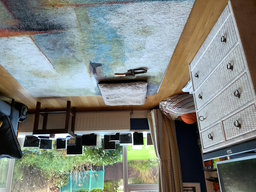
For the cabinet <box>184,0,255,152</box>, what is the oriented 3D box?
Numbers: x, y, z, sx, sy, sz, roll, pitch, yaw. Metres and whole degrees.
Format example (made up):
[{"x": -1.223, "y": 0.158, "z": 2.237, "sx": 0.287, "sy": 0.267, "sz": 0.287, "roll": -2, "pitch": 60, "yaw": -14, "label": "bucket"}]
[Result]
[{"x": 0.850, "y": -0.090, "z": 1.550, "sx": 0.520, "sy": 0.870, "sz": 0.910, "roll": -1, "pitch": 159, "yaw": -3, "label": "cabinet"}]
